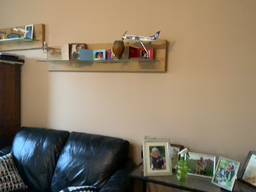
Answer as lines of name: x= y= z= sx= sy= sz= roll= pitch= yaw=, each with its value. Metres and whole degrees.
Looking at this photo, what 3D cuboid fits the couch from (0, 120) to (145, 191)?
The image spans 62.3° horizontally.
couch: x=-0.790 y=0.830 z=1.880 sx=1.600 sy=0.910 sz=0.980 roll=4 pitch=4 yaw=24
